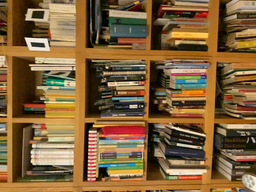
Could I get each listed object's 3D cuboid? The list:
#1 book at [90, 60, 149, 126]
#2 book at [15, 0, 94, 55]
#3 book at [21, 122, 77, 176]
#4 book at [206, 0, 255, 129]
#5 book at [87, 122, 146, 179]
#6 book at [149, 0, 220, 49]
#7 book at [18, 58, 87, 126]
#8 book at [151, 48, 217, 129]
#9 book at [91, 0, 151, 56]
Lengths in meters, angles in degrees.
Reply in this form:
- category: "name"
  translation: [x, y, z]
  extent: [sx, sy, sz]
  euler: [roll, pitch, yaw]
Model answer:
- category: "book"
  translation: [-0.060, -0.020, 1.370]
  extent: [0.310, 0.330, 0.370]
  euler: [-155, 66, -84]
- category: "book"
  translation: [-0.430, -0.480, 1.320]
  extent: [0.290, 0.400, 0.390]
  euler: [-150, 61, -84]
- category: "book"
  translation: [-0.490, 0.330, 1.370]
  extent: [0.250, 0.280, 0.270]
  euler: [-134, 45, -83]
- category: "book"
  translation: [0.770, -0.220, 1.480]
  extent: [0.290, 0.300, 0.850]
  euler: [-150, 61, -84]
- category: "book"
  translation: [-0.080, 0.340, 1.390]
  extent: [0.290, 0.340, 0.280]
  euler: [-131, 42, -82]
- category: "book"
  translation: [0.360, -0.510, 1.430]
  extent: [0.300, 0.370, 0.320]
  euler: [-141, 52, -84]
- category: "book"
  translation: [-0.460, -0.030, 1.360]
  extent: [0.300, 0.350, 0.380]
  euler: [-145, 56, -84]
- category: "book"
  translation: [0.360, -0.050, 1.450]
  extent: [0.300, 0.330, 0.490]
  euler: [-145, 56, -84]
- category: "book"
  translation: [-0.050, -0.480, 1.380]
  extent: [0.230, 0.350, 0.390]
  euler: [-141, 52, -84]
